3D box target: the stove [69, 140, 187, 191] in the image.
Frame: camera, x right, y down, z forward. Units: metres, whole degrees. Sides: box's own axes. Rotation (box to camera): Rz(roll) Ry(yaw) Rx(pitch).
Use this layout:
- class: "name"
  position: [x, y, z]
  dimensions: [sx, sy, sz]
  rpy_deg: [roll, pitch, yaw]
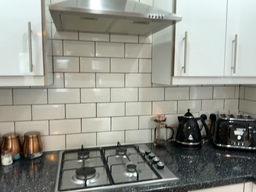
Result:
- class: "stove"
  position: [-0.060, 0.370, 1.180]
  dimensions: [0.520, 0.020, 0.590]
  rpy_deg: [-2, 7, -15]
